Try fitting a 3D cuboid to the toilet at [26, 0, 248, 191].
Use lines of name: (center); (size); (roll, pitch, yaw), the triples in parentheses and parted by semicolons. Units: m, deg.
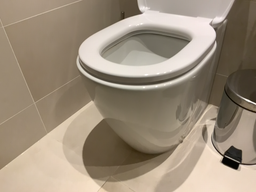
toilet: (0.080, -0.200, 0.660); (0.390, 0.850, 0.540); (23, 45, 29)
